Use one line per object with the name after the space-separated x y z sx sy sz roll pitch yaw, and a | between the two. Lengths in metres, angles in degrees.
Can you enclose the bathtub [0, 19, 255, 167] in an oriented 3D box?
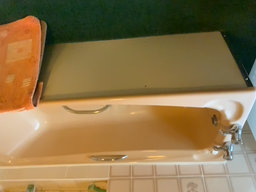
-0.200 0.040 1.390 1.640 0.510 0.700 -5 138 5 | bathtub
